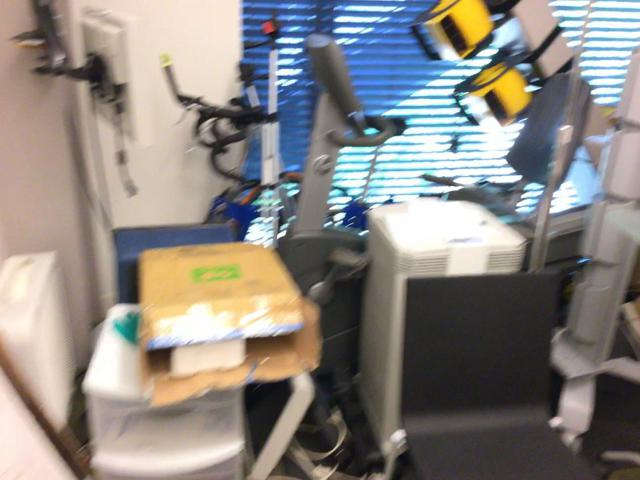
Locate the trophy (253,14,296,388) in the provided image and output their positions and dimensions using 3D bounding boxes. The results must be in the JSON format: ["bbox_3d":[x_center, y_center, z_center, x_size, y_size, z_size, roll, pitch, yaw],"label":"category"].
[{"bbox_3d":[-0.180,-0.130,2.320,0.110,1.430,0.360,-3,19,-11],"label":"trophy"}]

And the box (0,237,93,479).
[{"bbox_3d":[-0.950,0.370,1.900,0.220,0.580,0.640,-3,19,-11],"label":"box"}]

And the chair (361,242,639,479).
[{"bbox_3d":[0.410,0.500,1.340,0.450,0.800,0.660,-3,19,-11],"label":"chair"}]

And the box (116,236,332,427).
[{"bbox_3d":[-0.270,0.220,1.650,0.500,0.290,0.540,-3,19,-11],"label":"box"}]

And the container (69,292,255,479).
[{"bbox_3d":[-0.420,0.510,1.670,0.410,0.520,0.540,-3,19,-11],"label":"container"}]
